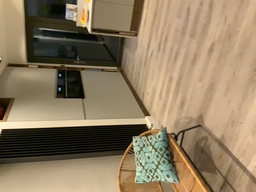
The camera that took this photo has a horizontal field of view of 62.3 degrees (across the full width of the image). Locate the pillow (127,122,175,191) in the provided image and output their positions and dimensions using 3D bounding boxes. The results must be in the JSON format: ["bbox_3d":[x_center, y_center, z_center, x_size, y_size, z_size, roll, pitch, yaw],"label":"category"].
[{"bbox_3d":[0.220,0.590,2.080,0.170,0.470,0.490,-35,113,19],"label":"pillow"}]
